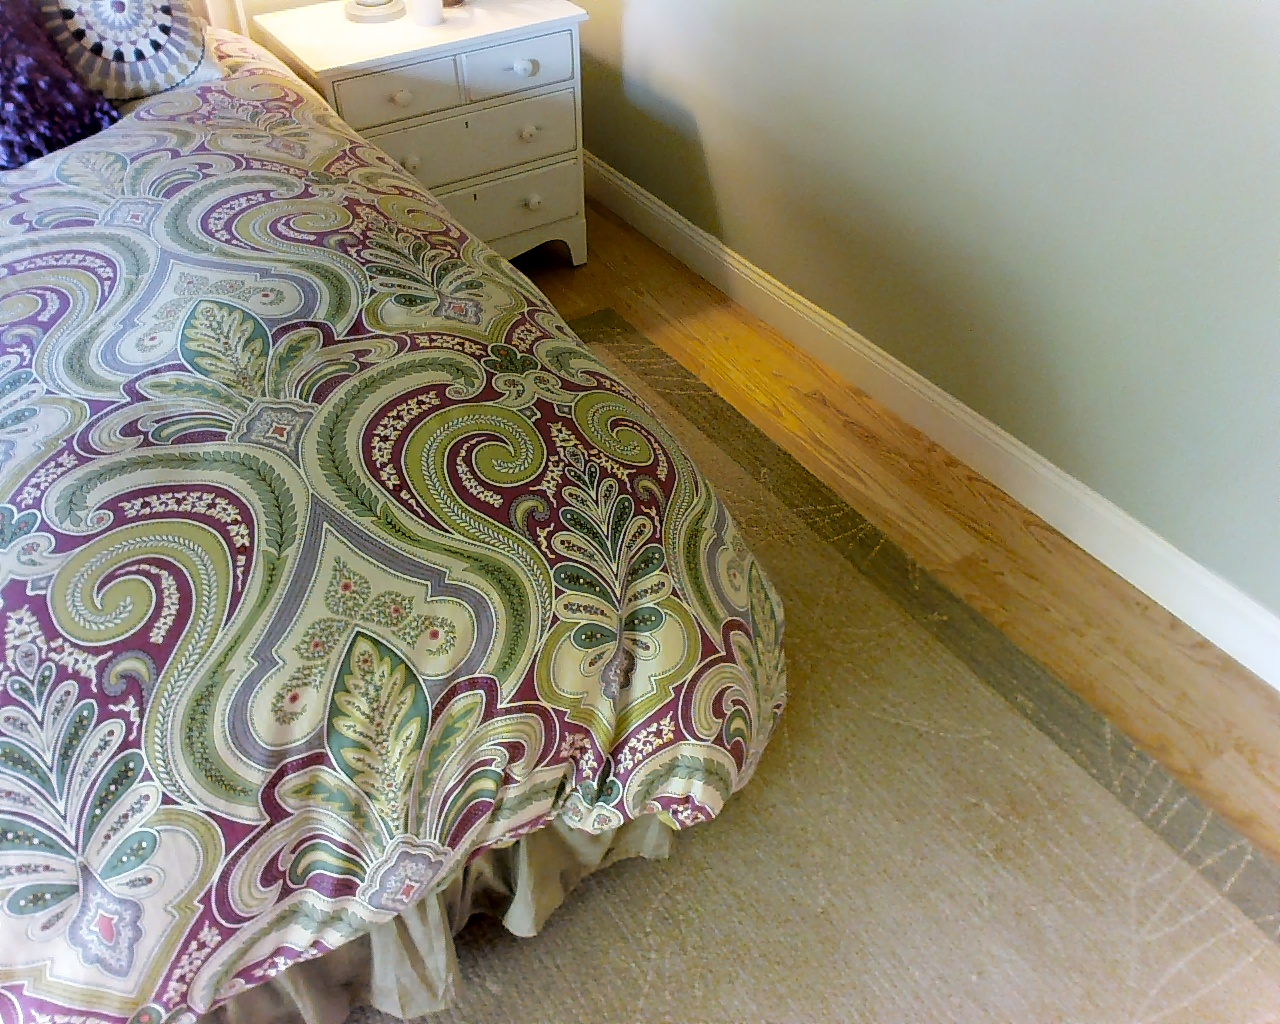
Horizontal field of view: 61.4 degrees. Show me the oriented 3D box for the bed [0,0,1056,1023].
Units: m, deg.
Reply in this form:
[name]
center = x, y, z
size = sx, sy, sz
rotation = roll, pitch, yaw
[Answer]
[bed]
center = -1.060, -0.360, 1.550
size = 1.830, 1.670, 2.310
rotation = -25, 48, -25
